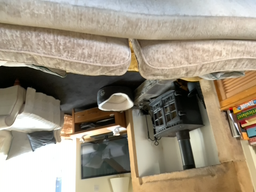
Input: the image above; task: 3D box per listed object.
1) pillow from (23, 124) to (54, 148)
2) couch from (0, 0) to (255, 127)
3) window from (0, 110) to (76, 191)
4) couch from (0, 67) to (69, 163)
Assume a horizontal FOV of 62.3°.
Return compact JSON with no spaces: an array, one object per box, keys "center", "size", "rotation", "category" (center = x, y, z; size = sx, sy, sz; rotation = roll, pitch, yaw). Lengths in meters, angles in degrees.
[{"center":[-1.310,0.600,3.140],"size":[0.360,0.250,0.390],"rotation":[1,156,-15],"category":"pillow"},{"center":[-0.060,-0.410,1.320],"size":[1.760,0.910,1.040],"rotation":[0,156,-13],"category":"couch"},{"center":[-1.620,1.390,3.790],"size":[1.300,2.240,0.270],"rotation":[7,154,-26],"category":"window"},{"center":[-1.630,0.380,2.930],"size":[1.100,0.850,1.280],"rotation":[-9,157,9],"category":"couch"}]
